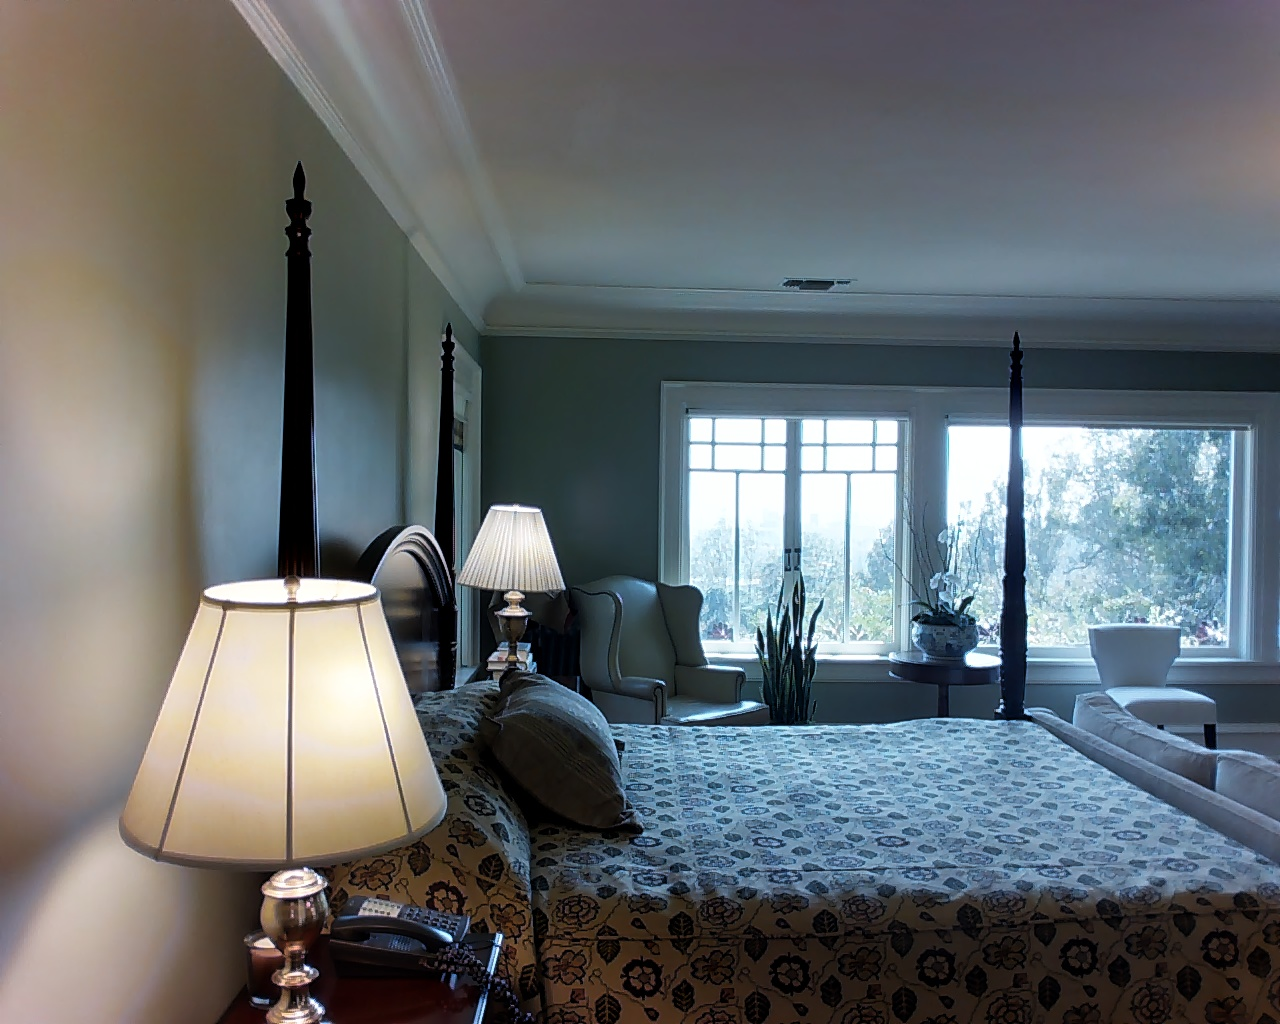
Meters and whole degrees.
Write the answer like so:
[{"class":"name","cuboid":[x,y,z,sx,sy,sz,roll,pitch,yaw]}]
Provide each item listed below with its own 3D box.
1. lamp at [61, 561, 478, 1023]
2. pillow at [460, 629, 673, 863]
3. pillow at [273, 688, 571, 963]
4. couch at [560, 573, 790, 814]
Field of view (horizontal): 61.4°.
[{"class":"lamp","cuboid":[-0.490,0.420,1.560,0.450,0.670,0.470,0,0,-2]},{"class":"pillow","cuboid":[-0.200,0.620,3.110,0.470,0.230,1.000,-36,1,-2]},{"class":"pillow","cuboid":[-0.460,0.700,2.650,0.550,0.350,1.090,0,0,-2]},{"class":"couch","cuboid":[0.190,0.930,5.940,0.950,1.110,0.830,1,1,43]}]
